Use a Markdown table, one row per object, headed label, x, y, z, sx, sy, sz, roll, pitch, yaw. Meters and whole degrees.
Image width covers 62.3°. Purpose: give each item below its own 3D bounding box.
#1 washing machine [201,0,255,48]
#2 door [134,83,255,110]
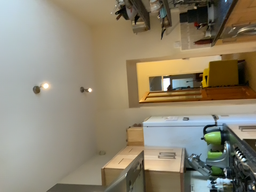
| label | x | y | z | sx | sy | sz | roll | pitch | yaw |
| --- | --- | --- | --- | --- | --- | --- | --- | --- | --- |
| washing machine | 1.490 | -1.040 | 2.660 | 0.790 | 1.010 | 0.610 | -7 | -86 | -74 |
| door | 1.230 | 0.000 | 3.990 | 0.970 | 2.090 | 0.110 | -52 | -42 | -67 |
